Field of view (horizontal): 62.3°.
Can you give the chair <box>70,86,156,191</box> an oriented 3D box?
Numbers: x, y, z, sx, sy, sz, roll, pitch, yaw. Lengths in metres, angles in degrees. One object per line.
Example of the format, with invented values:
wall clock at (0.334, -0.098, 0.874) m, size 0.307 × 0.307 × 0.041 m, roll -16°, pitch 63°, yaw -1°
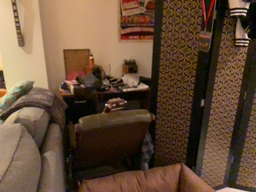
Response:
chair at (-0.170, 0.450, 1.860) m, size 0.570 × 0.880 × 0.680 m, roll -5°, pitch 20°, yaw -14°
